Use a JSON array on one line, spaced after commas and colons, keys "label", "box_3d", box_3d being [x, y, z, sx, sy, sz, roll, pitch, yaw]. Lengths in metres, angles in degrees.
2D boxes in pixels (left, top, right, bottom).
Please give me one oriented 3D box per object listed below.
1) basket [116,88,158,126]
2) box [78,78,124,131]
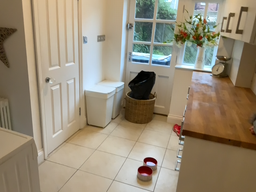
[{"label": "basket", "box_3d": [0.150, 0.160, 3.440, 0.520, 0.380, 0.510, 11, 20, 19]}, {"label": "box", "box_3d": [-0.400, 0.090, 3.290, 0.390, 0.540, 0.780, 10, 20, 17]}]
